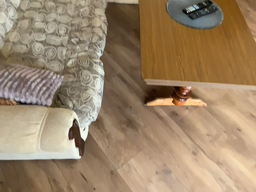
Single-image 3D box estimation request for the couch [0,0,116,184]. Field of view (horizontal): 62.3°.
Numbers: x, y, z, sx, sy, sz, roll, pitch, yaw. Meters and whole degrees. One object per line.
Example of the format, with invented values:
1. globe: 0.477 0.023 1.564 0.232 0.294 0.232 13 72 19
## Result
1. couch: -0.680 -0.530 1.380 1.180 0.990 1.870 2 57 -4
